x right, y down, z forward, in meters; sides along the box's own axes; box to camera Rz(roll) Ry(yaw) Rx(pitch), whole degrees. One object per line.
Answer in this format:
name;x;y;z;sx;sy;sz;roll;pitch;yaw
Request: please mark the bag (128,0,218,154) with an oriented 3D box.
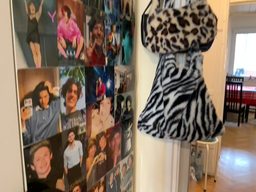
bag;0.150;-0.160;0.740;0.270;0.670;0.100;6;11;26
